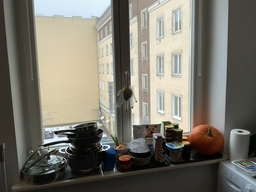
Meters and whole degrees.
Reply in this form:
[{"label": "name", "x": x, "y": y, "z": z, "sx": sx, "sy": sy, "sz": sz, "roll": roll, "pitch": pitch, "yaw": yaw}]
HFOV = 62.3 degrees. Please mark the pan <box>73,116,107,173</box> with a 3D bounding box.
[{"label": "pan", "x": -0.280, "y": 0.330, "z": 1.530, "sx": 0.210, "sy": 0.300, "sz": 0.290, "roll": -3, "pitch": 8, "yaw": -14}]
